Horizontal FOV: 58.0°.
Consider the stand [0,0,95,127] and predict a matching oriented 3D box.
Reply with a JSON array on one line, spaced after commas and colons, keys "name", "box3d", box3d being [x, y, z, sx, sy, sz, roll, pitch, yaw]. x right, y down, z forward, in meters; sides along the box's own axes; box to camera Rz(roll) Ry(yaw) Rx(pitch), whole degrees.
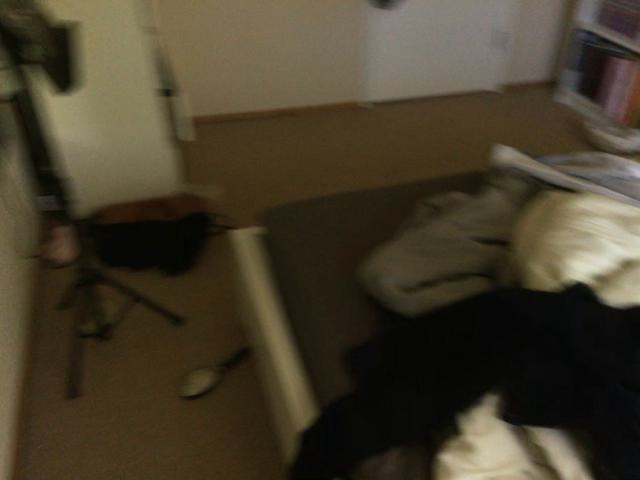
[{"name": "stand", "box3d": [-0.640, -0.520, 1.260, 0.190, 0.360, 0.460, -12, 38, -14]}]

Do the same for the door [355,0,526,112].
[{"name": "door", "box3d": [0.660, -1.610, 2.640, 0.830, 2.030, 0.170, -9, 37, -17]}]

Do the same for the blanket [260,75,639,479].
[{"name": "blanket", "box3d": [0.610, 0.000, 1.270, 1.280, 0.300, 0.900, -12, 38, -14]}]
